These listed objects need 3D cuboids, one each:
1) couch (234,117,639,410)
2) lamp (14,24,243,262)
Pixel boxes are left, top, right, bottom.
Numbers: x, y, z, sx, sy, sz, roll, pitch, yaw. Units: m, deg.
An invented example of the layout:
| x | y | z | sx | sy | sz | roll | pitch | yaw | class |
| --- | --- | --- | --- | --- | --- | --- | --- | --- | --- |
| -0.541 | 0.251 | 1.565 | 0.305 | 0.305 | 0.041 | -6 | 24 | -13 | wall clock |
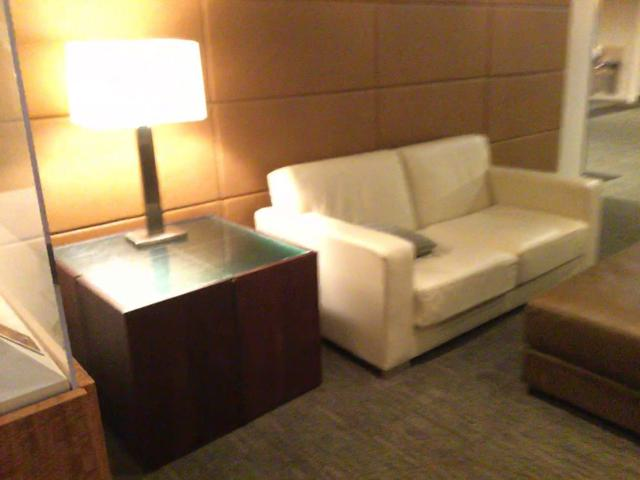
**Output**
| x | y | z | sx | sy | sz | roll | pitch | yaw | class |
| --- | --- | --- | --- | --- | --- | --- | --- | --- | --- |
| 0.650 | -0.080 | 2.890 | 1.720 | 0.780 | 1.130 | -18 | 21 | -31 | couch |
| -0.760 | -0.400 | 2.310 | 0.450 | 0.750 | 0.670 | -27 | 26 | -36 | lamp |
